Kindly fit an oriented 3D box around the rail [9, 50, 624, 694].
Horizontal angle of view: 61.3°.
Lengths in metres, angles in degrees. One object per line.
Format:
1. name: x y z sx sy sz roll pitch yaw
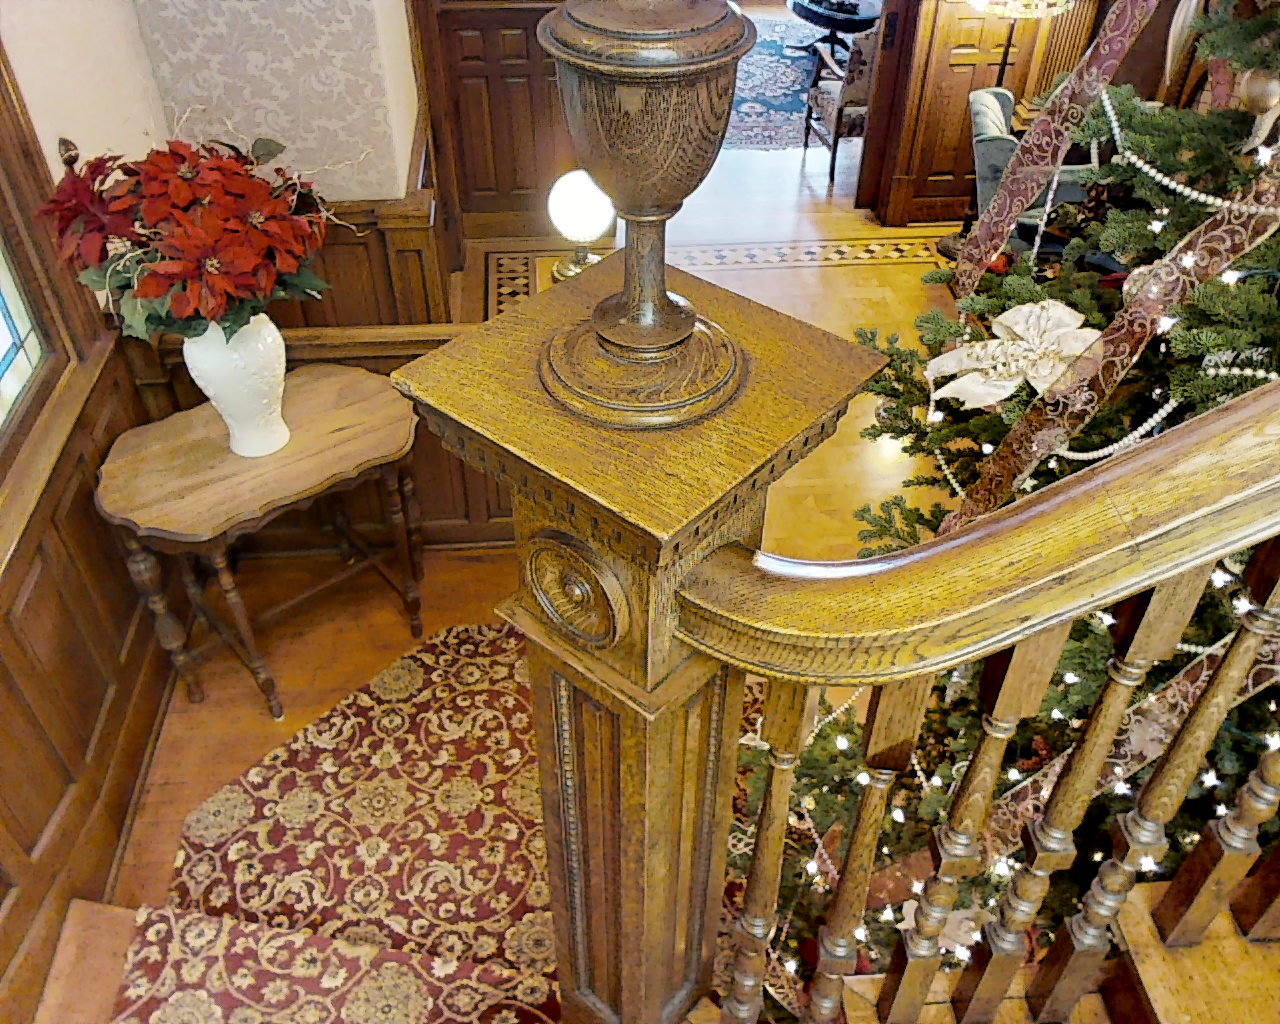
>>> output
1. rail: -0.710 -0.250 3.100 1.290 1.960 0.300 -3 43 -4
